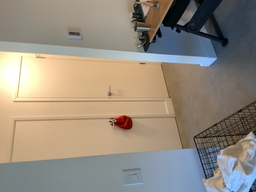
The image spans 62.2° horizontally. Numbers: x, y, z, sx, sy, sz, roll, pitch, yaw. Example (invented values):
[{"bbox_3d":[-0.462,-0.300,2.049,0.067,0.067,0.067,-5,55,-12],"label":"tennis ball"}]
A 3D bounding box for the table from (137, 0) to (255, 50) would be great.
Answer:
[{"bbox_3d":[0.670,-0.950,1.660,1.170,0.820,0.460,121,146,-57],"label":"table"}]
